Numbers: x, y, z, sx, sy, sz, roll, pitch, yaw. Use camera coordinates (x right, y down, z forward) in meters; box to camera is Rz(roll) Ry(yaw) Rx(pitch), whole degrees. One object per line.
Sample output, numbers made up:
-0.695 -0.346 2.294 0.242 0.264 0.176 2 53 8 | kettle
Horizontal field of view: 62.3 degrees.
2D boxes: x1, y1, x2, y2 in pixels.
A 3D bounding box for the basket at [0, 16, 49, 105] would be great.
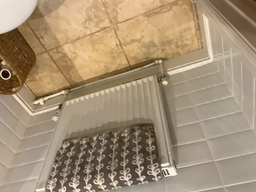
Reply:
-0.700 -0.200 1.230 0.230 0.280 0.370 -17 129 12 | basket
